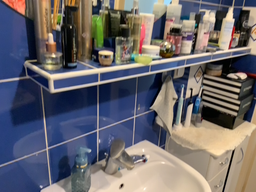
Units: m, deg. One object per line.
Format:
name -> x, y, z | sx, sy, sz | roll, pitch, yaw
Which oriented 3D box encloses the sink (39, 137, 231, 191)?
sink -> 0.040, 0.390, 0.790 | 0.570, 0.130, 0.410 | -15, 28, -40
